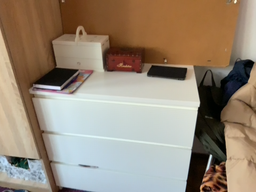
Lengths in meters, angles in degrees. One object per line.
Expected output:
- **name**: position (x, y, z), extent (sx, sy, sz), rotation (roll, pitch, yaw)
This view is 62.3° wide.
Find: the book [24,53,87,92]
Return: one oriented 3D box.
- **book**: position (-0.360, -0.130, 1.100), extent (0.200, 0.230, 0.120), rotation (-77, -13, -57)
